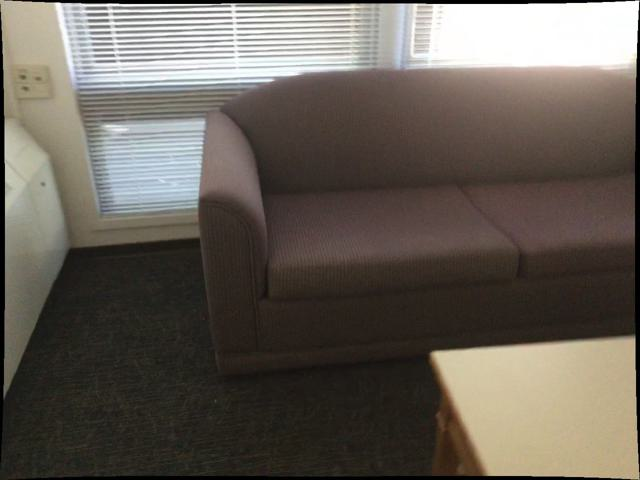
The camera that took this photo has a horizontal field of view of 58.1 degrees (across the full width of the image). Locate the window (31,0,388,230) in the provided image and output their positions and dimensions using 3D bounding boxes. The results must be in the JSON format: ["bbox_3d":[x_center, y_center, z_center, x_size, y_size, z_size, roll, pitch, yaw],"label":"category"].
[{"bbox_3d":[-0.379,-1.052,2.040,1.198,2.023,0.370,-4,30,-7],"label":"window"}]
